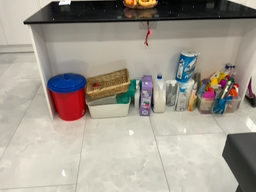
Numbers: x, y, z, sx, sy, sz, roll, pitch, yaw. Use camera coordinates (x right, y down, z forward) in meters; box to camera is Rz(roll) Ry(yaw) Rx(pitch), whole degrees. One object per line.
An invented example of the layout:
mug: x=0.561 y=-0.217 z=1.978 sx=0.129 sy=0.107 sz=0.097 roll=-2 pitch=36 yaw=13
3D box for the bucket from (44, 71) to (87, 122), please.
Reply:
bucket: x=-0.560 y=0.000 z=1.970 sx=0.290 sy=0.370 sz=0.290 roll=-3 pitch=32 yaw=-4
